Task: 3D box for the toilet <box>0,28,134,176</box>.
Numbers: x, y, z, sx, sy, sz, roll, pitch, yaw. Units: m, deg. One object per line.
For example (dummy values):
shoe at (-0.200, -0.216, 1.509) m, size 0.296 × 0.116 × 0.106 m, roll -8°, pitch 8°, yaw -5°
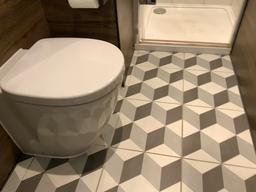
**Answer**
toilet at (-0.250, 0.020, 0.920) m, size 0.490 × 0.450 × 0.390 m, roll 6°, pitch 45°, yaw 9°
